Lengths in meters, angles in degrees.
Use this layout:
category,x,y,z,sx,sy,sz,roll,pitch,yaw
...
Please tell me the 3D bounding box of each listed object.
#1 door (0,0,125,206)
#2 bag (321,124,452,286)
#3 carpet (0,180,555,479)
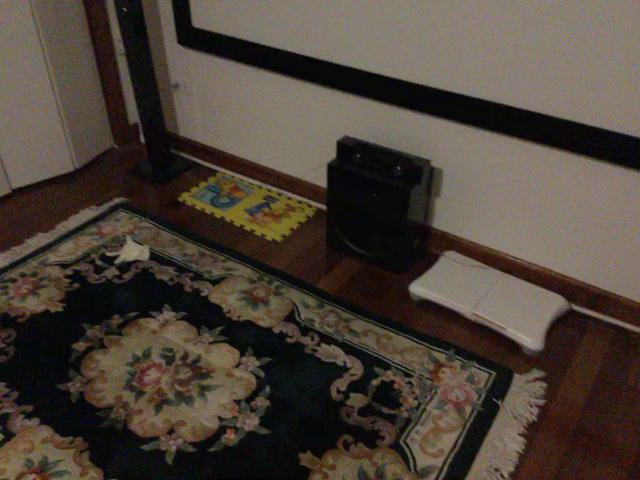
category,x,y,z,sx,sy,sz,roll,pitch,yaw
door,-1.360,-0.880,2.140,0.130,1.620,1.140,24,40,28
bag,0.240,-0.140,2.200,0.360,0.450,0.280,23,40,28
carpet,-0.480,0.380,1.770,2.000,0.070,1.240,23,40,28
